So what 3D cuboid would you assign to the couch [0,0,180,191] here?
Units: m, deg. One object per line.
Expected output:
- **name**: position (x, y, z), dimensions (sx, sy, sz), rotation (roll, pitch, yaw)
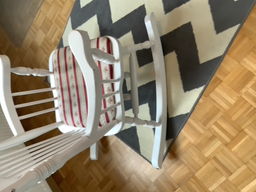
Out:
- **couch**: position (-0.300, -0.030, 0.950), dimensions (0.670, 1.140, 0.950), rotation (-7, 87, 29)
